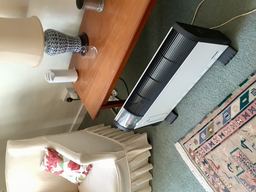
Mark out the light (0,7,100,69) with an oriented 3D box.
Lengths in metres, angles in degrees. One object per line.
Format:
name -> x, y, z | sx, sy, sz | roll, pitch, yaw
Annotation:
light -> -0.500, -0.330, 1.270 | 0.260, 0.570, 0.200 | 58, 134, 27

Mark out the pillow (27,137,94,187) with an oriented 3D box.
pillow -> -0.500, 0.520, 1.630 | 0.180, 0.320, 0.360 | 51, 175, 25

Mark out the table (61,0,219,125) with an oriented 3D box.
table -> 0.000, -0.400, 1.360 | 0.560, 0.450, 1.060 | 55, 133, 29
